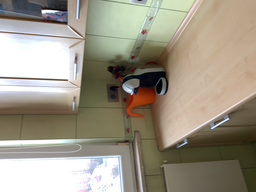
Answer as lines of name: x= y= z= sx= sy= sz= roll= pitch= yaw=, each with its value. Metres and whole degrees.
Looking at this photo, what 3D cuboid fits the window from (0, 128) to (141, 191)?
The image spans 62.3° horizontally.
window: x=-0.580 y=0.620 z=1.260 sx=0.180 sy=1.320 sz=0.810 roll=120 pitch=147 yaw=-60
